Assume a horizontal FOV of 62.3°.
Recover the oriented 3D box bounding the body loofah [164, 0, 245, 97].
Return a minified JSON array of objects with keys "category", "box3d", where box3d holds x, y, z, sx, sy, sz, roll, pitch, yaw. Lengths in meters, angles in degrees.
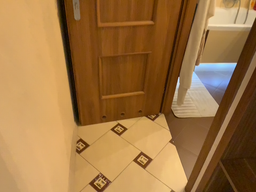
[{"category":"body loofah","box3d":[0.580,-0.670,1.560,0.310,1.430,0.370,-2,39,-8]}]
